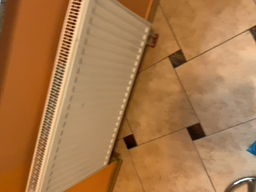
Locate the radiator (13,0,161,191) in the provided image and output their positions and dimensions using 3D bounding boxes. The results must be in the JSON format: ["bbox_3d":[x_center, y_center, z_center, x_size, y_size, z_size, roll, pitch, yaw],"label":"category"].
[{"bbox_3d":[-0.130,0.050,1.010,0.120,0.670,0.790,23,102,24],"label":"radiator"}]
